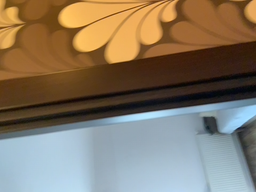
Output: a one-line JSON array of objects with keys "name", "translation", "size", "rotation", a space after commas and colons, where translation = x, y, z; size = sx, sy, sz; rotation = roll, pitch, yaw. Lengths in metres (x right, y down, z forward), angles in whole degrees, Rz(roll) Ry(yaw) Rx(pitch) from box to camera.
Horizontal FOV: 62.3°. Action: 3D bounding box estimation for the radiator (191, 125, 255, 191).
[{"name": "radiator", "translation": [1.600, 1.090, 3.660], "size": [0.090, 0.760, 1.090], "rotation": [75, -173, -66]}]
